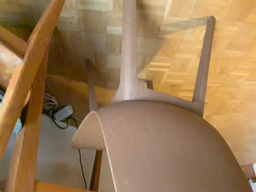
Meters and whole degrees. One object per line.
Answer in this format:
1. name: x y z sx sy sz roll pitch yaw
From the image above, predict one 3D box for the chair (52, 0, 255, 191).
1. chair: 0.060 0.100 0.770 0.450 0.790 0.530 18 143 -26
